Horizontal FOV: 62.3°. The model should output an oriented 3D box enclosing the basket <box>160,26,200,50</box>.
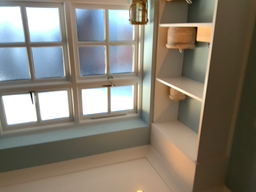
[{"bbox_3d":[0.430,-0.490,1.780,0.230,0.180,0.210,-7,-160,-22],"label":"basket"}]
